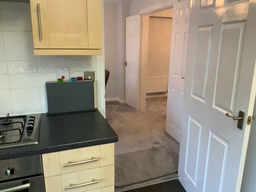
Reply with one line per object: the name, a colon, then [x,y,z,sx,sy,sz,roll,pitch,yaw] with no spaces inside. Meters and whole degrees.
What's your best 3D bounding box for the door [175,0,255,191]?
door: [0.630,0.060,1.670,0.050,1.960,0.850,-1,15,-10]
